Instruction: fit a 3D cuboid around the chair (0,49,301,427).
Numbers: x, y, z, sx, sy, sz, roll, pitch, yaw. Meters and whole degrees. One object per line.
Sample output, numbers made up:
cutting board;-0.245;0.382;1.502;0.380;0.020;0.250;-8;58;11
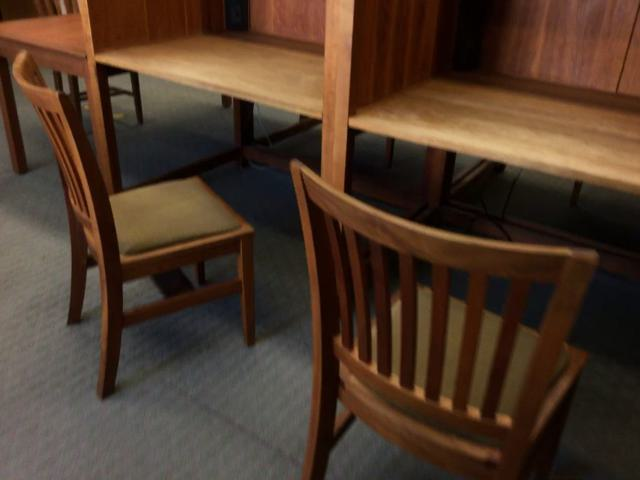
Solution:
chair;-0.550;-0.070;1.800;0.660;0.880;0.610;-17;36;-39

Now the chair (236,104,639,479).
chair;0.270;0.240;1.260;0.580;0.850;0.660;22;31;26
